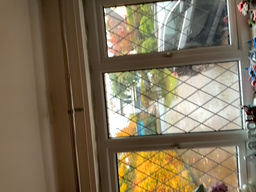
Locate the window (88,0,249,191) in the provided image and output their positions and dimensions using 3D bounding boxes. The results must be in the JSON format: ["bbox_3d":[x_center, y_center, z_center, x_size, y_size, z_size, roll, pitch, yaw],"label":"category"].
[{"bbox_3d":[0.270,-0.010,1.530,0.080,1.010,1.560,19,-114,-86],"label":"window"}]
